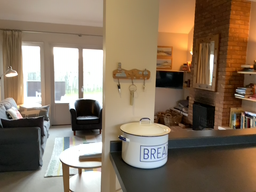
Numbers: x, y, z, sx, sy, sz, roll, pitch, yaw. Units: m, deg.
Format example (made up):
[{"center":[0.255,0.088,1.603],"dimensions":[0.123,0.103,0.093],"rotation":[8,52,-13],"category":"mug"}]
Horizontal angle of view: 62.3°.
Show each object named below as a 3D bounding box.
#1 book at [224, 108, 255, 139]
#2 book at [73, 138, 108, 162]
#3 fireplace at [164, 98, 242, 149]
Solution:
[{"center":[2.110,0.480,3.420],"dimensions":[0.300,0.360,1.210],"rotation":[0,8,-14],"category":"book"},{"center":[-0.400,0.550,2.210],"dimensions":[0.330,0.080,0.410],"rotation":[0,8,-13],"category":"book"},{"center":[1.520,0.510,4.520],"dimensions":[1.060,0.770,1.140],"rotation":[-1,8,-16],"category":"fireplace"}]
